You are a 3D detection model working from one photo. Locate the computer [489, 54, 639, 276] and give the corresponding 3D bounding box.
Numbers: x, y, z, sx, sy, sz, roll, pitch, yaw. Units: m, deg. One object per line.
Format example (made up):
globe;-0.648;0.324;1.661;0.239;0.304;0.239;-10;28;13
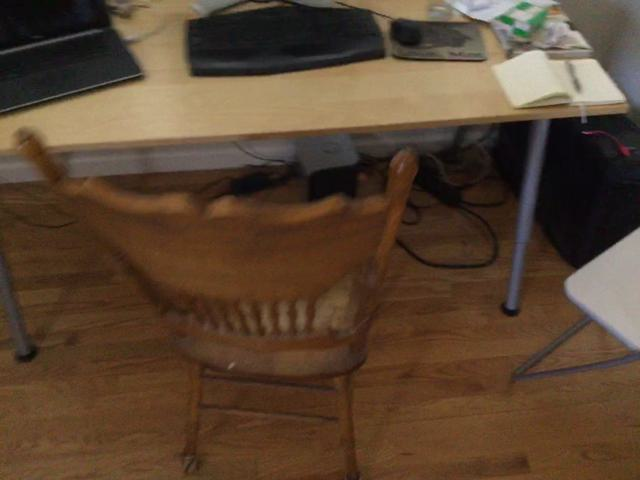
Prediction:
computer;0.860;-0.270;1.960;0.290;0.430;0.640;-4;45;-4
